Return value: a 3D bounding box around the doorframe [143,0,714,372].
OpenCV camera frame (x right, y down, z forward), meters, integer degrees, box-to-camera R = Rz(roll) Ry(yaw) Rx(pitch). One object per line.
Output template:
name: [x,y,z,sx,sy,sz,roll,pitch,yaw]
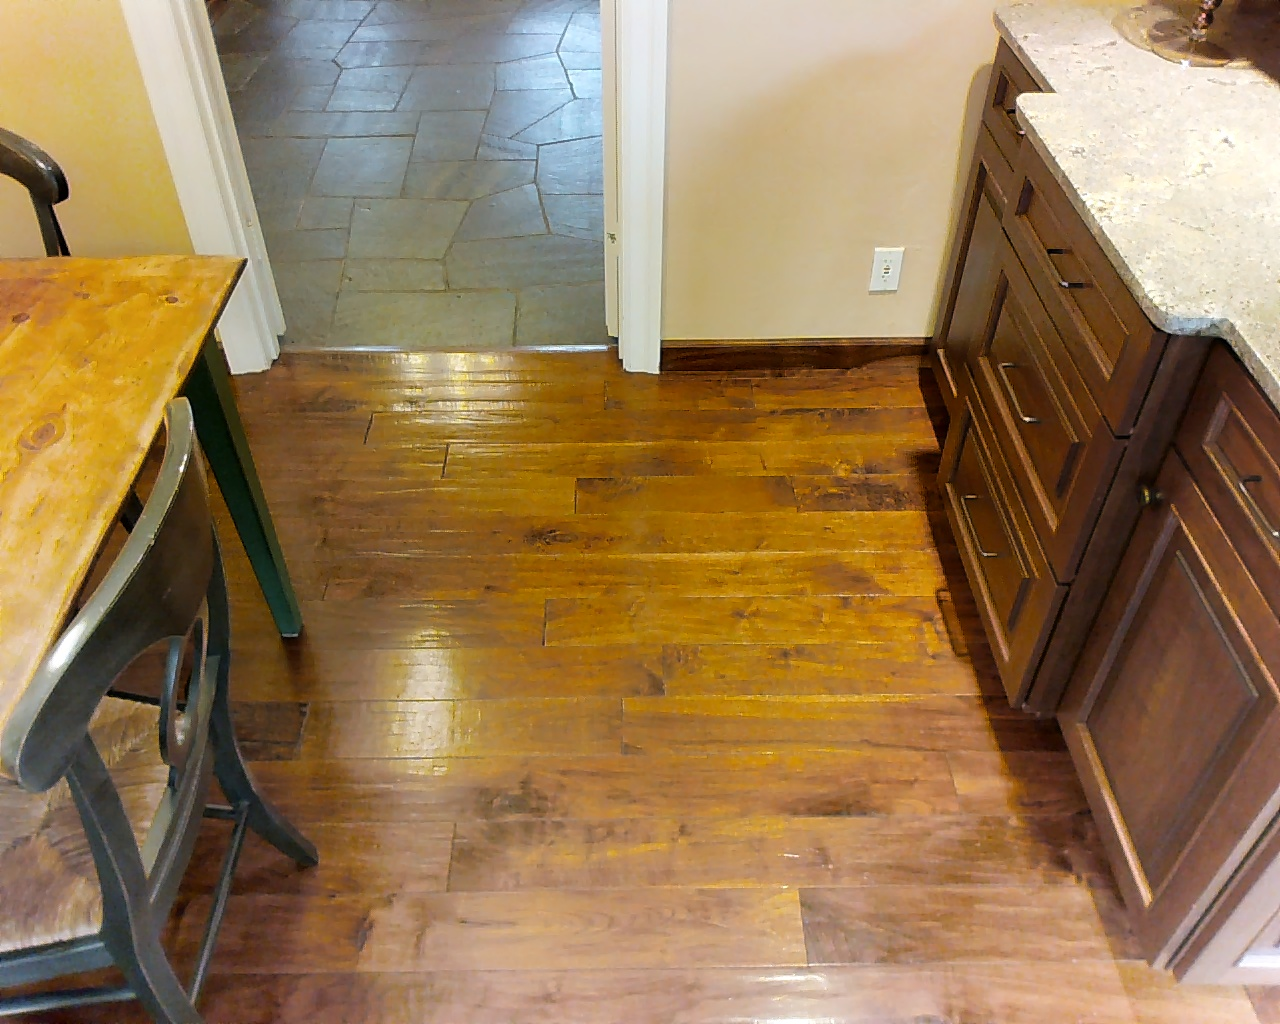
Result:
doorframe: [-0.430,-1.220,2.140,1.160,2.150,0.160,0,42,0]
